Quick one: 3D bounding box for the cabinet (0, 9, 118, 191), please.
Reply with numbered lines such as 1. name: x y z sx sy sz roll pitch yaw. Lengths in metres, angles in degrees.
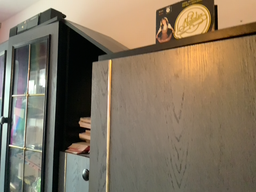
1. cabinet: -0.560 0.130 1.380 0.920 1.010 0.410 -2 -6 38
